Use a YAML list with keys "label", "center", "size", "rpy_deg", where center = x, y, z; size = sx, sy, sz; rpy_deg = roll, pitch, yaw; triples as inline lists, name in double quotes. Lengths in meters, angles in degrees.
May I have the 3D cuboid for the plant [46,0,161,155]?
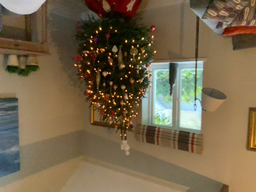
- label: "plant"
  center: [-0.310, -0.400, 2.850]
  size: [1.200, 1.930, 0.890]
  rpy_deg: [4, -173, 30]
